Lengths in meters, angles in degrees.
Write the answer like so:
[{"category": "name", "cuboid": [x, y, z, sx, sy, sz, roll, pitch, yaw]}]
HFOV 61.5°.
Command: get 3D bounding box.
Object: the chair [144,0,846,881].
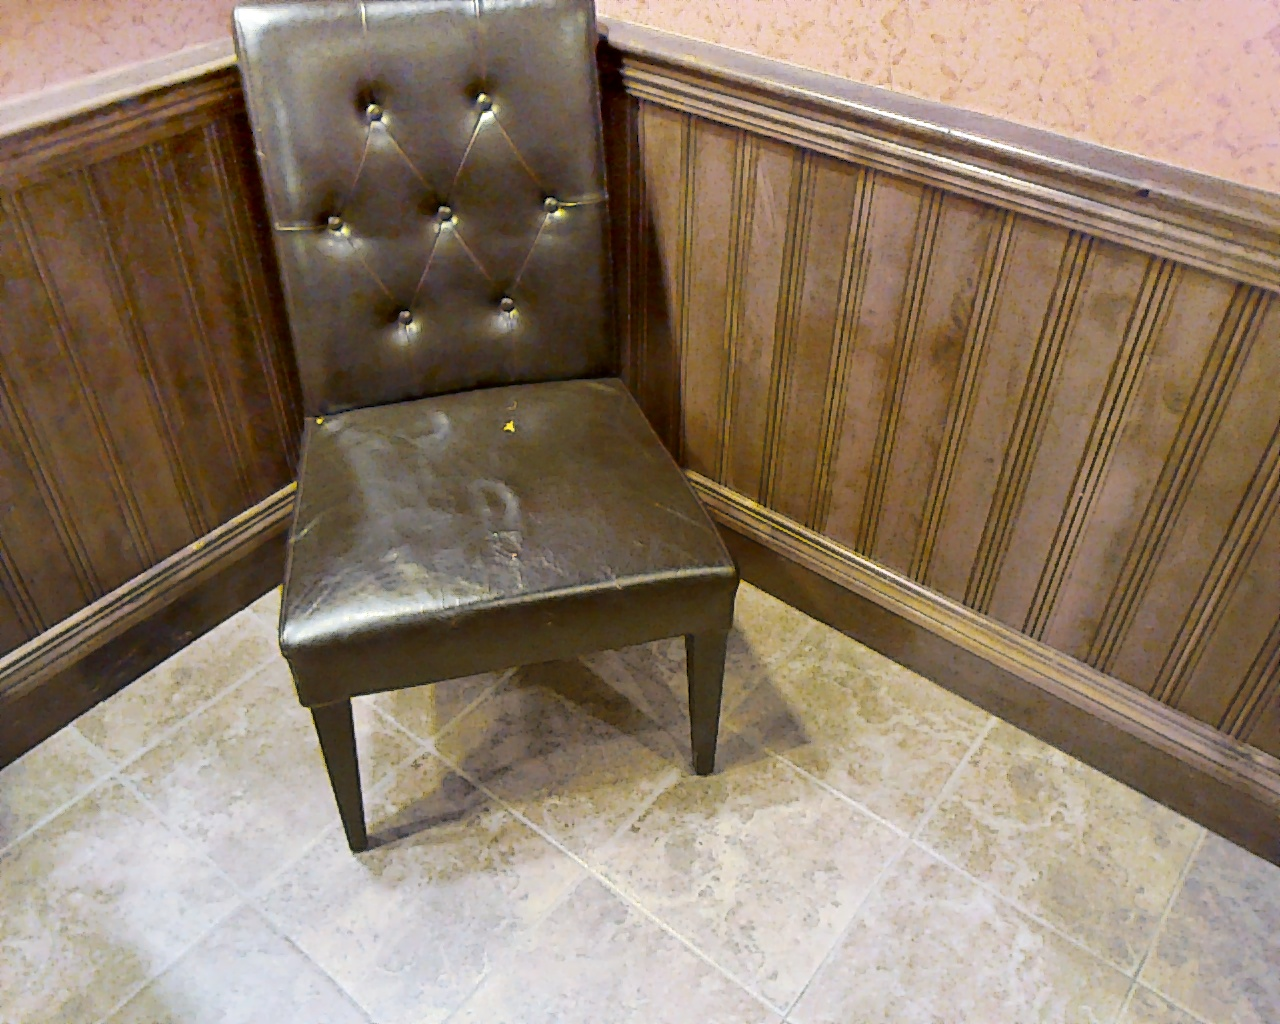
[{"category": "chair", "cuboid": [-0.210, -0.160, 1.580, 0.620, 0.980, 0.850, -8, 42, -10]}]
